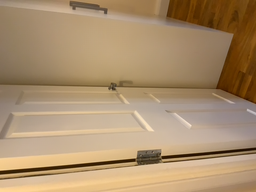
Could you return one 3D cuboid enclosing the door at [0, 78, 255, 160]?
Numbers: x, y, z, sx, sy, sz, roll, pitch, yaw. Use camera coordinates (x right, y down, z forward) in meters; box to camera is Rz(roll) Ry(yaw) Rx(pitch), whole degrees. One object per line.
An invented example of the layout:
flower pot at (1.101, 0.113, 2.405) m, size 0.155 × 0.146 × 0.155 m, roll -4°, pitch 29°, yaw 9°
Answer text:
door at (-0.040, 0.050, 1.190) m, size 0.820 × 1.910 × 0.030 m, roll -131°, pitch 45°, yaw -63°
